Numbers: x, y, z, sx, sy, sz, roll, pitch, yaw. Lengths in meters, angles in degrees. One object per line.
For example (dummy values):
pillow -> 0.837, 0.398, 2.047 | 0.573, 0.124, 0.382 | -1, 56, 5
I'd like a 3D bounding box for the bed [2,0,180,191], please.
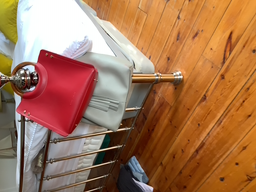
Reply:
bed -> -0.760, -0.190, 2.150 | 2.140, 0.770, 1.660 | 55, 135, 40
